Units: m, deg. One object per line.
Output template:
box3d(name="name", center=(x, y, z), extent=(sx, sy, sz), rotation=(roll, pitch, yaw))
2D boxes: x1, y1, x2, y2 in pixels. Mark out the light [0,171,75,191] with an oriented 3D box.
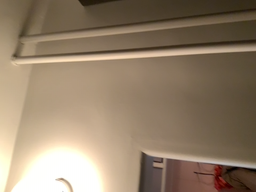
box3d(name="light", center=(-0.240, 0.280, 0.570), extent=(0.160, 0.080, 0.150), rotation=(-20, -54, 37))
